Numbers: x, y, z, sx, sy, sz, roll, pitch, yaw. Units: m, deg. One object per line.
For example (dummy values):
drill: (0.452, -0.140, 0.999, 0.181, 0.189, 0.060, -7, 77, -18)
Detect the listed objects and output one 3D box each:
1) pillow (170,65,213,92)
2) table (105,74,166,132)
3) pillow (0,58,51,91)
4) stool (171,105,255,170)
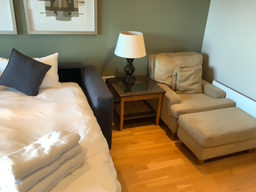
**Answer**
pillow: (0.850, -0.230, 2.870, 0.450, 0.330, 0.140, 0, 45, -18)
table: (0.060, 0.060, 2.880, 0.600, 0.520, 0.630, -5, 26, -18)
pillow: (-1.030, -0.210, 2.120, 0.370, 0.360, 0.100, 2, 49, 10)
stool: (0.990, 0.420, 2.360, 0.820, 0.400, 0.480, -5, 26, -18)
